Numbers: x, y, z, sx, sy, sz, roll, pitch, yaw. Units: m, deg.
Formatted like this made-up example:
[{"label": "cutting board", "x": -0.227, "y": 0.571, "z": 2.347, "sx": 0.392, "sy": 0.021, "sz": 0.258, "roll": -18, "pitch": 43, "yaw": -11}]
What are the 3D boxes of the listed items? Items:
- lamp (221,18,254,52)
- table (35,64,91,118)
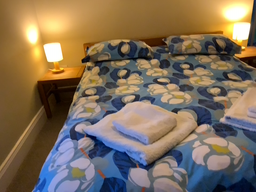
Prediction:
[{"label": "lamp", "x": 1.310, "y": -0.740, "z": 2.570, "sx": 0.220, "sy": 0.340, "sz": 0.250, "roll": -6, "pitch": 25, "yaw": -2}, {"label": "table", "x": -0.720, "y": -0.080, "z": 2.500, "sx": 0.470, "sy": 0.430, "sz": 0.500, "roll": -6, "pitch": 25, "yaw": -2}]
